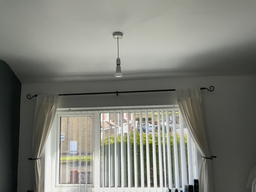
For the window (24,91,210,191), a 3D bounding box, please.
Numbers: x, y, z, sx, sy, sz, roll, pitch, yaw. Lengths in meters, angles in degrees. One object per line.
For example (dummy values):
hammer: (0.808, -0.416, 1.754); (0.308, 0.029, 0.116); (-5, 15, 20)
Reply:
window: (-0.200, 0.580, 2.610); (2.210, 1.170, 0.230); (-2, -6, 11)
